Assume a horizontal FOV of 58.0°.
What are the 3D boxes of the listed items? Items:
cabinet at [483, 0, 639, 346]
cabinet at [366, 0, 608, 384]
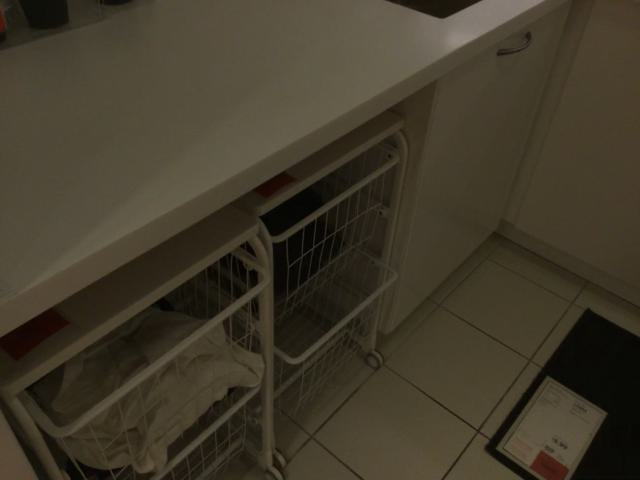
[{"bbox_3d":[0.830,-0.170,1.520,0.150,0.910,0.700,-30,45,-31],"label":"cabinet"},{"bbox_3d":[0.400,-0.120,1.470,0.660,0.820,0.130,-30,45,-31],"label":"cabinet"}]
